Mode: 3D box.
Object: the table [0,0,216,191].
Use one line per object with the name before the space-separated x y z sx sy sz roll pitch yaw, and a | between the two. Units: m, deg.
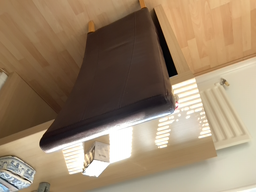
table | -0.220 0.070 1.390 1.240 0.750 0.650 -18 132 12
